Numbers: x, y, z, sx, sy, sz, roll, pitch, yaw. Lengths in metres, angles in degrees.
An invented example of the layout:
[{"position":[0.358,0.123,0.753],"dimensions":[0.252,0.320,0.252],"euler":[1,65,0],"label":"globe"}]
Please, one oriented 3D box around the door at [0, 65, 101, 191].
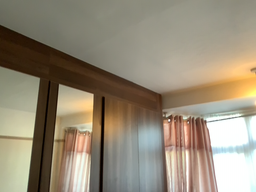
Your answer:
[{"position":[-0.580,0.980,1.250],"dimensions":[0.070,2.280,1.000],"euler":[-14,-21,38],"label":"door"}]
